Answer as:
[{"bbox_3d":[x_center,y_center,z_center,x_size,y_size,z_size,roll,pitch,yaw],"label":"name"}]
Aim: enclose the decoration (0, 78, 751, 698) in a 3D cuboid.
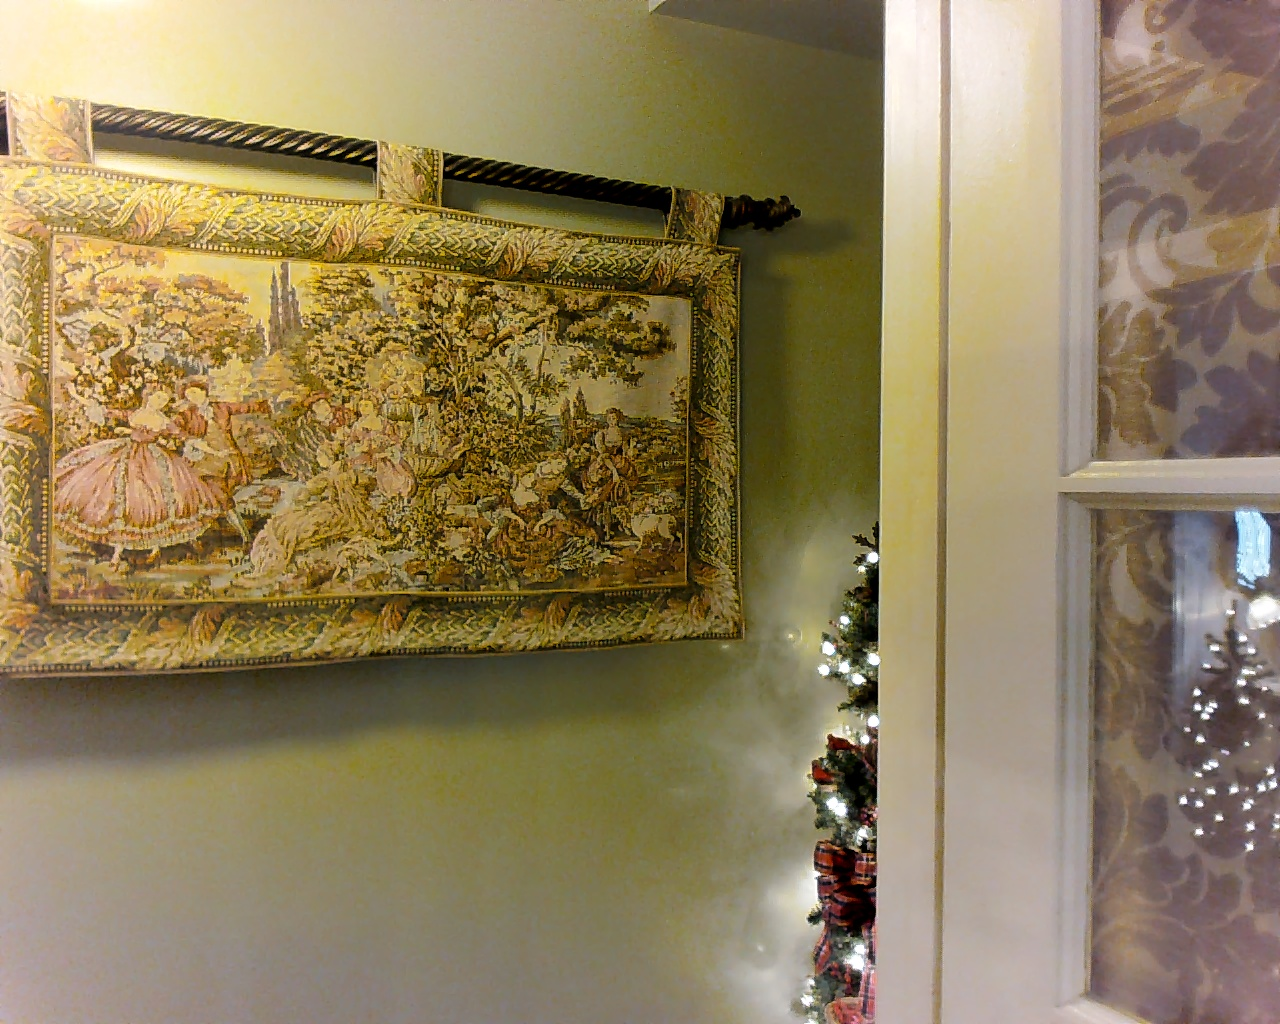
[{"bbox_3d":[-0.460,-0.200,2.080,1.490,1.000,0.130,0,0,-25],"label":"decoration"}]
